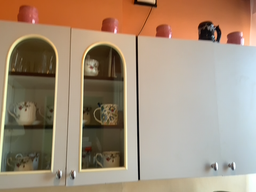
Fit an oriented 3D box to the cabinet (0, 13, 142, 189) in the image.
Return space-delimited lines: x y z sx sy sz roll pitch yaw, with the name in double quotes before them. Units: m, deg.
"cabinet" -0.280 0.030 1.010 0.610 0.670 0.310 2 -9 -14
